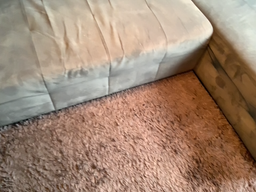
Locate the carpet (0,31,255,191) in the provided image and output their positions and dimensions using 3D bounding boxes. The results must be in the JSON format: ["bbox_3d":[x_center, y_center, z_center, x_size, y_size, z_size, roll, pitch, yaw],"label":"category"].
[{"bbox_3d":[-0.340,0.300,1.140,1.900,0.010,1.320,-19,63,-18],"label":"carpet"}]
